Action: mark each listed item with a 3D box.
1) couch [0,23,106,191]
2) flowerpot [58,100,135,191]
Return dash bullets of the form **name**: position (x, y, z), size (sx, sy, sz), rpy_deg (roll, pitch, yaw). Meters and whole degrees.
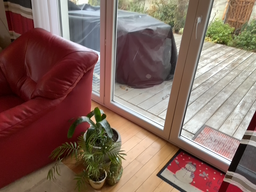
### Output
- **couch**: position (-0.910, 0.020, 1.700), size (1.050, 0.890, 0.980), rpy_deg (-22, 40, -39)
- **flowerpot**: position (-0.230, 0.370, 1.600), size (0.320, 0.480, 0.430), rpy_deg (30, 38, 35)
